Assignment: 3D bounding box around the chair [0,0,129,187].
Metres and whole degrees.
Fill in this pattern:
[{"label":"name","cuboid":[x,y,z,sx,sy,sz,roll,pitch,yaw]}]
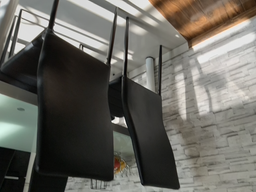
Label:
[{"label":"chair","cuboid":[-0.310,-0.100,1.080,0.480,0.990,0.410,-24,144,37]}]
